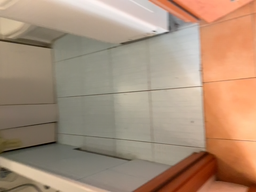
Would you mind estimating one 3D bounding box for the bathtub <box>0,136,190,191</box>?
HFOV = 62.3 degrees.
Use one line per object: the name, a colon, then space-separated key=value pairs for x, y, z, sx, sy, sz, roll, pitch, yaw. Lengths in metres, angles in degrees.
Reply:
bathtub: x=-0.440 y=0.740 z=1.460 sx=1.570 sy=0.610 sz=0.690 roll=-3 pitch=90 yaw=38
